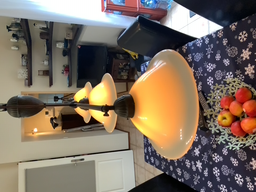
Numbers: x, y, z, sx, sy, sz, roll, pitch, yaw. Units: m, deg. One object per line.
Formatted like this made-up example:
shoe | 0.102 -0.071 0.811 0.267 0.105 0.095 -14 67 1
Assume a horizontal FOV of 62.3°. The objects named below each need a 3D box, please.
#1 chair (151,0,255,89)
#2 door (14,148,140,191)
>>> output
chair | 0.720 -0.320 1.090 0.430 1.090 0.500 163 104 -68
door | -0.830 1.490 3.840 0.190 2.170 0.830 171 98 -68
